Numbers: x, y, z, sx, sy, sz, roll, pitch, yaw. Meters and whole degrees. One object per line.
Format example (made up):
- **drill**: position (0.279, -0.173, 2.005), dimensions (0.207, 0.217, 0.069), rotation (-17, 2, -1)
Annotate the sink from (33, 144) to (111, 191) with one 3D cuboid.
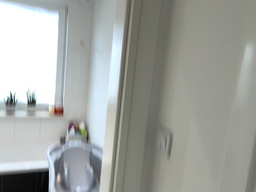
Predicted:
- **sink**: position (-0.470, 0.640, 1.820), dimensions (0.540, 0.250, 0.570), rotation (4, 8, -14)
